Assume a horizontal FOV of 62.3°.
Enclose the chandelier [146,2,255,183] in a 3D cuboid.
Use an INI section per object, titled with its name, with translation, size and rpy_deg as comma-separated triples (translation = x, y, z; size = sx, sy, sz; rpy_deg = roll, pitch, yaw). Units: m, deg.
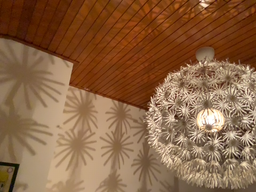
[chandelier]
translation = 0.570, 0.030, 1.600
size = 0.770, 1.080, 0.810
rpy_deg = 0, 156, 9
